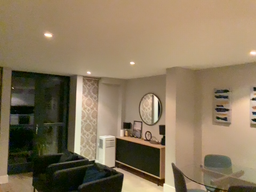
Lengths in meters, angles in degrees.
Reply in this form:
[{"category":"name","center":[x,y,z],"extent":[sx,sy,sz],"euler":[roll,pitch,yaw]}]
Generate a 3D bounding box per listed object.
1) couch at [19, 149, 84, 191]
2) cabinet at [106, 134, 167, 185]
[{"category":"couch","center":[-1.300,1.360,3.600],"extent":[0.810,0.710,0.680],"euler":[4,-3,-42]},{"category":"cabinet","center":[0.140,1.420,5.060],"extent":[0.460,0.800,1.610],"euler":[4,-3,-40]}]
